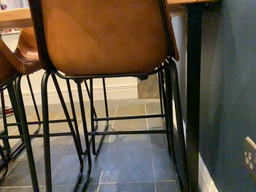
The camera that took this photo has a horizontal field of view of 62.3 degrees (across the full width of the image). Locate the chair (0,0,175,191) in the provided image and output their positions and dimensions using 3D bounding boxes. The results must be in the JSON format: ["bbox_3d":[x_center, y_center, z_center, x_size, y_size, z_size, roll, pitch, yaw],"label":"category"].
[{"bbox_3d":[-0.050,0.050,0.850,0.440,0.990,0.520,-2,19,11],"label":"chair"}]
